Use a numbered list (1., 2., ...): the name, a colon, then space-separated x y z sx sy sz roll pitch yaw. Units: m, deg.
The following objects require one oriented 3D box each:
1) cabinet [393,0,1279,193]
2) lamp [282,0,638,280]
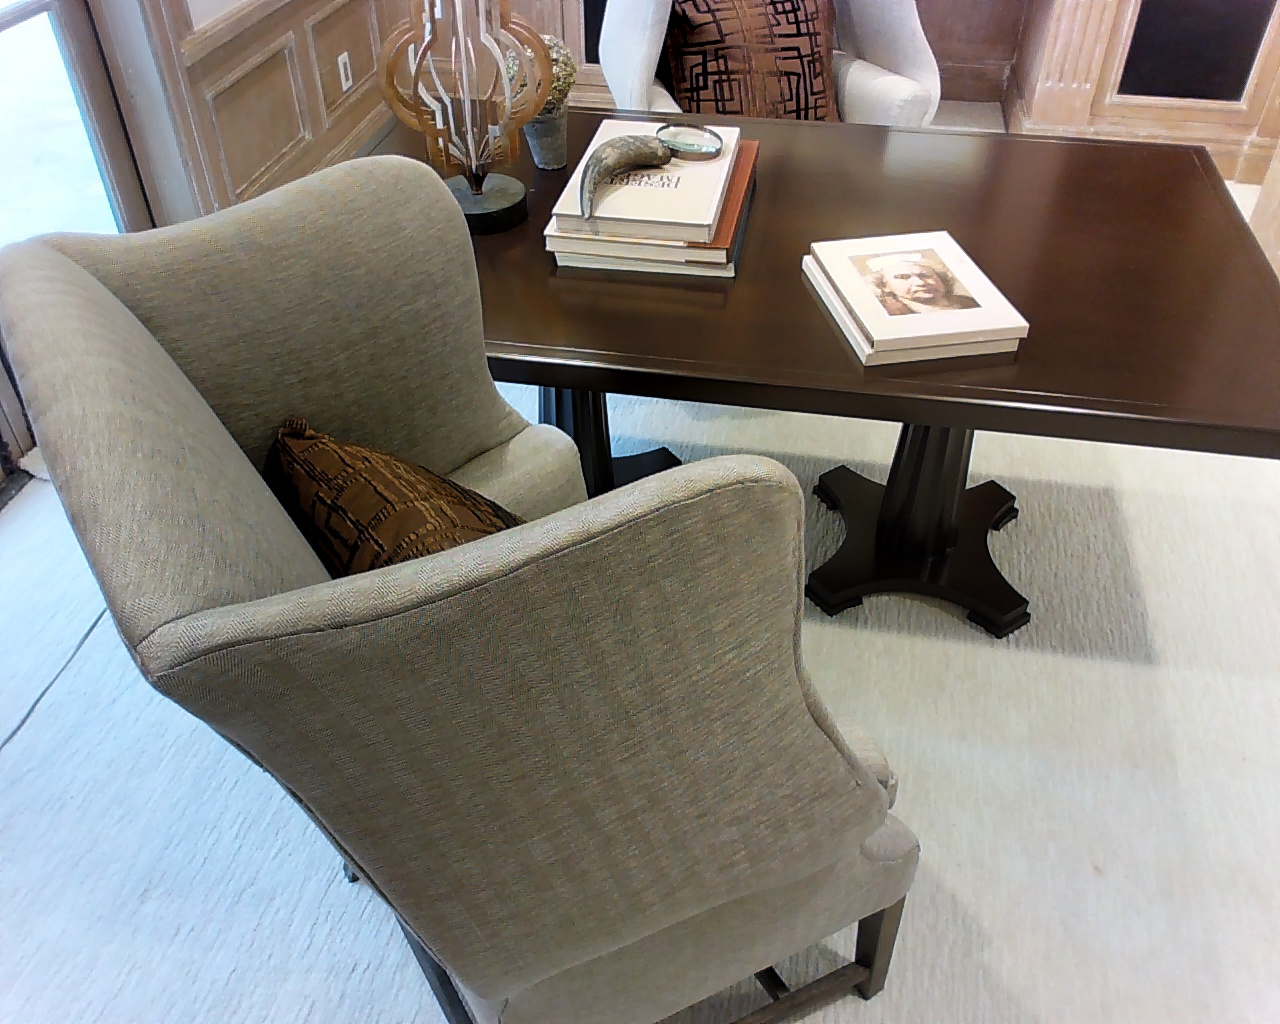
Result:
1. cabinet: 0.830 -1.890 4.160 3.420 0.770 0.830 7 41 9
2. lamp: -0.270 -0.850 1.780 0.440 0.740 0.480 7 41 9
